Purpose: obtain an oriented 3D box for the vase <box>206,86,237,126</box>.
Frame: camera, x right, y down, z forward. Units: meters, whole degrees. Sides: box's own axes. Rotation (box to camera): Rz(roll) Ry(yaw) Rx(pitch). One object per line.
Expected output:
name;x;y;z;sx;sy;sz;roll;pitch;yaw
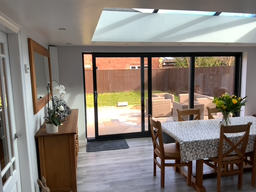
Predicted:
vase;1.420;0.140;3.250;0.290;0.550;0.320;-2;8;-10
